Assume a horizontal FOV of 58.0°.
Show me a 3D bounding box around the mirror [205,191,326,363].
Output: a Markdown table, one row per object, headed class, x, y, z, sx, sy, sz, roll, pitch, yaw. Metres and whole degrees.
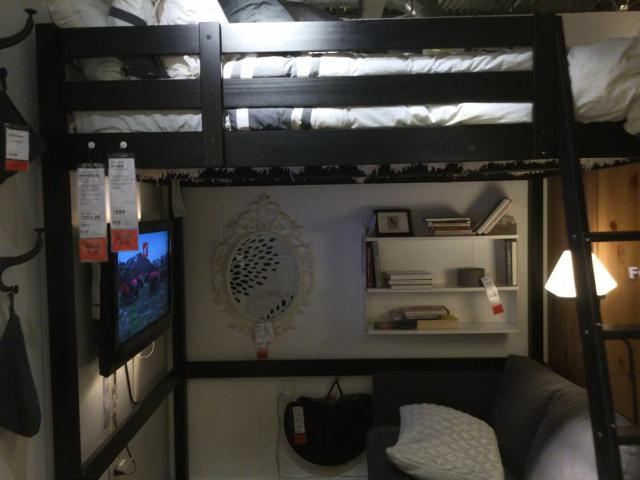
| class | x | y | z | sx | sy | sz | roll | pitch | yaw |
| --- | --- | --- | --- | --- | --- | --- | --- | --- | --- |
| mirror | -0.290 | 0.200 | 3.090 | 0.600 | 0.890 | 0.050 | -3 | 2 | 4 |
